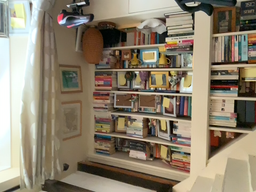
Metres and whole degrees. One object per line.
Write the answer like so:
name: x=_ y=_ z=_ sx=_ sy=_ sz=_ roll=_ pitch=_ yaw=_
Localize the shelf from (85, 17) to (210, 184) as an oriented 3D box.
shelf: x=0.120 y=0.020 z=2.300 sx=1.350 sy=1.510 sz=0.170 roll=3 pitch=-176 yaw=28
